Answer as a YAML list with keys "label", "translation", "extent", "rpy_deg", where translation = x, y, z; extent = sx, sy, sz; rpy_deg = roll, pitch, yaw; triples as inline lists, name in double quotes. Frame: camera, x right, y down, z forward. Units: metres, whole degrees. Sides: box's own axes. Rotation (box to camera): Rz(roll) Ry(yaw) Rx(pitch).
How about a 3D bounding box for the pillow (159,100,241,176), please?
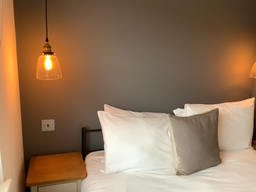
- label: "pillow"
  translation: [0.490, 0.280, 1.470]
  extent: [0.430, 0.420, 0.180]
  rpy_deg: [-7, 34, -32]

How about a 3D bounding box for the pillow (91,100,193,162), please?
- label: "pillow"
  translation: [0.100, 0.250, 1.640]
  extent: [0.730, 0.370, 0.190]
  rpy_deg: [-2, 22, -19]

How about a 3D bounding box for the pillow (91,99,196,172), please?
- label: "pillow"
  translation: [0.080, 0.260, 1.470]
  extent: [0.610, 0.380, 0.250]
  rpy_deg: [-2, 37, -18]

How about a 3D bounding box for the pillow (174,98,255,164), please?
- label: "pillow"
  translation: [0.750, 0.270, 1.730]
  extent: [0.620, 0.410, 0.230]
  rpy_deg: [-4, 34, -22]
